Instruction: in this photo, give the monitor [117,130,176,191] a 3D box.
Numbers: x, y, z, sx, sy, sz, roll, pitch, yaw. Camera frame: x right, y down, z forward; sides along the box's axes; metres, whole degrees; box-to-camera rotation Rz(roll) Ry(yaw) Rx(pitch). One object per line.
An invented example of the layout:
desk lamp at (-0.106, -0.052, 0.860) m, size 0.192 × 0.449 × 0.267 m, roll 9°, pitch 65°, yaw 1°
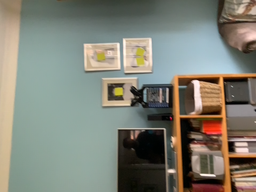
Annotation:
monitor at (0.150, 0.630, 1.770) m, size 0.050 × 0.480 × 0.680 m, roll 68°, pitch -158°, yaw -81°
